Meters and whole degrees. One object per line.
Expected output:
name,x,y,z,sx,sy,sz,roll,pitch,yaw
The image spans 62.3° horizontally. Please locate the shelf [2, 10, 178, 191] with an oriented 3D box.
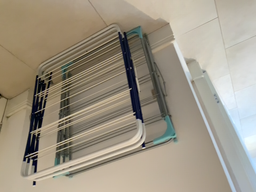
shelf,-0.240,0.030,1.140,0.810,0.740,0.190,-25,140,20
